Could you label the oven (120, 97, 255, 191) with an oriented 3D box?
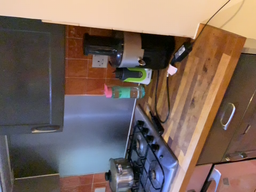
[{"bbox_3d":[0.510,0.420,1.430,0.610,0.910,0.600,-123,38,-55],"label":"oven"}]
